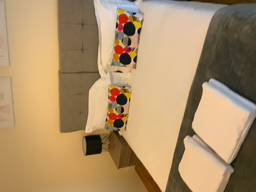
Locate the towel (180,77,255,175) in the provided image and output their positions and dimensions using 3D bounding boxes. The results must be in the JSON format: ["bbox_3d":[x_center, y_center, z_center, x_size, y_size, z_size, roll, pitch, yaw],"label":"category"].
[{"bbox_3d":[0.500,0.160,1.230,0.370,0.080,0.420,-129,43,-52],"label":"towel"}]

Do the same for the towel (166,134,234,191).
[{"bbox_3d":[0.440,0.520,1.390,0.400,0.090,0.370,-132,46,-54],"label":"towel"}]
